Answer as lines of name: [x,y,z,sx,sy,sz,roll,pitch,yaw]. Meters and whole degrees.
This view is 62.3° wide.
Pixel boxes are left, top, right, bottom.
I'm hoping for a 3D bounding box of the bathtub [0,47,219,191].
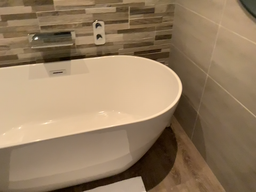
bathtub: [-0.410,0.180,1.380,1.580,0.560,0.800,-9,37,-13]
